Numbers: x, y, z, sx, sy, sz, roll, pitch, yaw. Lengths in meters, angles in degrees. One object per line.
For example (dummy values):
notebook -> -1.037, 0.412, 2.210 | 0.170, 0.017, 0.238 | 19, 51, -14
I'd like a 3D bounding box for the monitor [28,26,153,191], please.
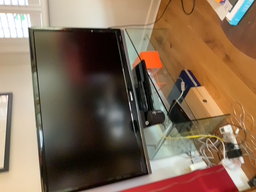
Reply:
monitor -> -0.260, 0.010, 1.440 | 0.050, 0.680, 1.070 | 137, 124, -64
